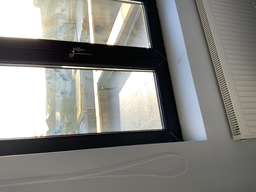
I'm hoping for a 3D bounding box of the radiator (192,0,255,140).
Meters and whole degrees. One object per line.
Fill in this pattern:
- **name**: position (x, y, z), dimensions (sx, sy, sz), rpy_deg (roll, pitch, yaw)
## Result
- **radiator**: position (0.780, -0.370, 1.390), dimensions (0.100, 0.610, 1.250), rpy_deg (130, 136, -61)
